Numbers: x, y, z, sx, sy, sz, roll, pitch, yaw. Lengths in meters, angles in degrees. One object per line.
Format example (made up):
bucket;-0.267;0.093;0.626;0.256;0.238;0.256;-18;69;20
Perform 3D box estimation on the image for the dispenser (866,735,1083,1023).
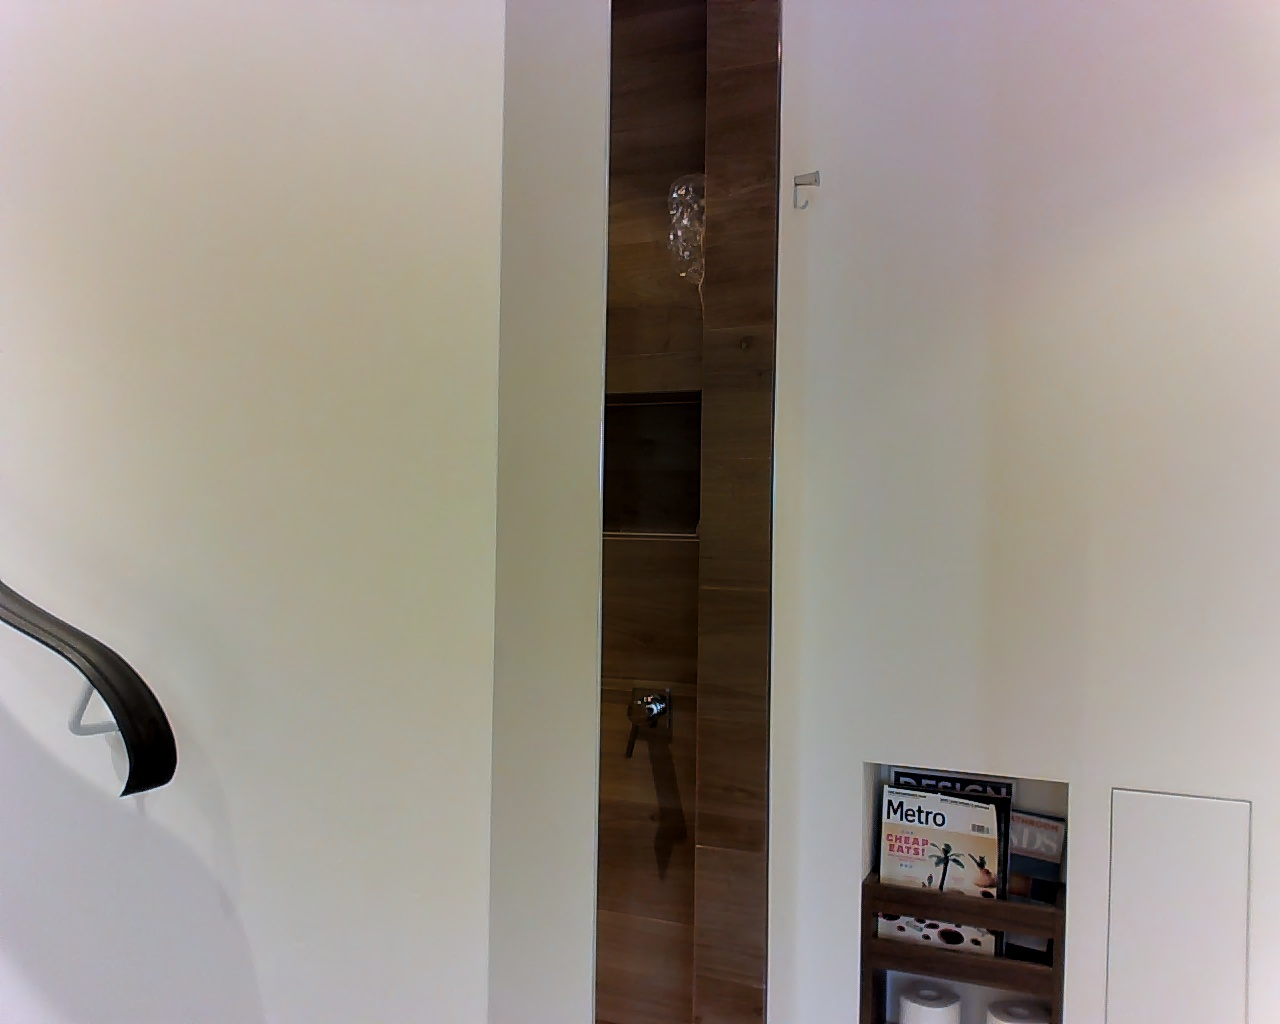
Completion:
dispenser;0.610;0.700;1.960;0.350;0.520;0.170;1;1;24
